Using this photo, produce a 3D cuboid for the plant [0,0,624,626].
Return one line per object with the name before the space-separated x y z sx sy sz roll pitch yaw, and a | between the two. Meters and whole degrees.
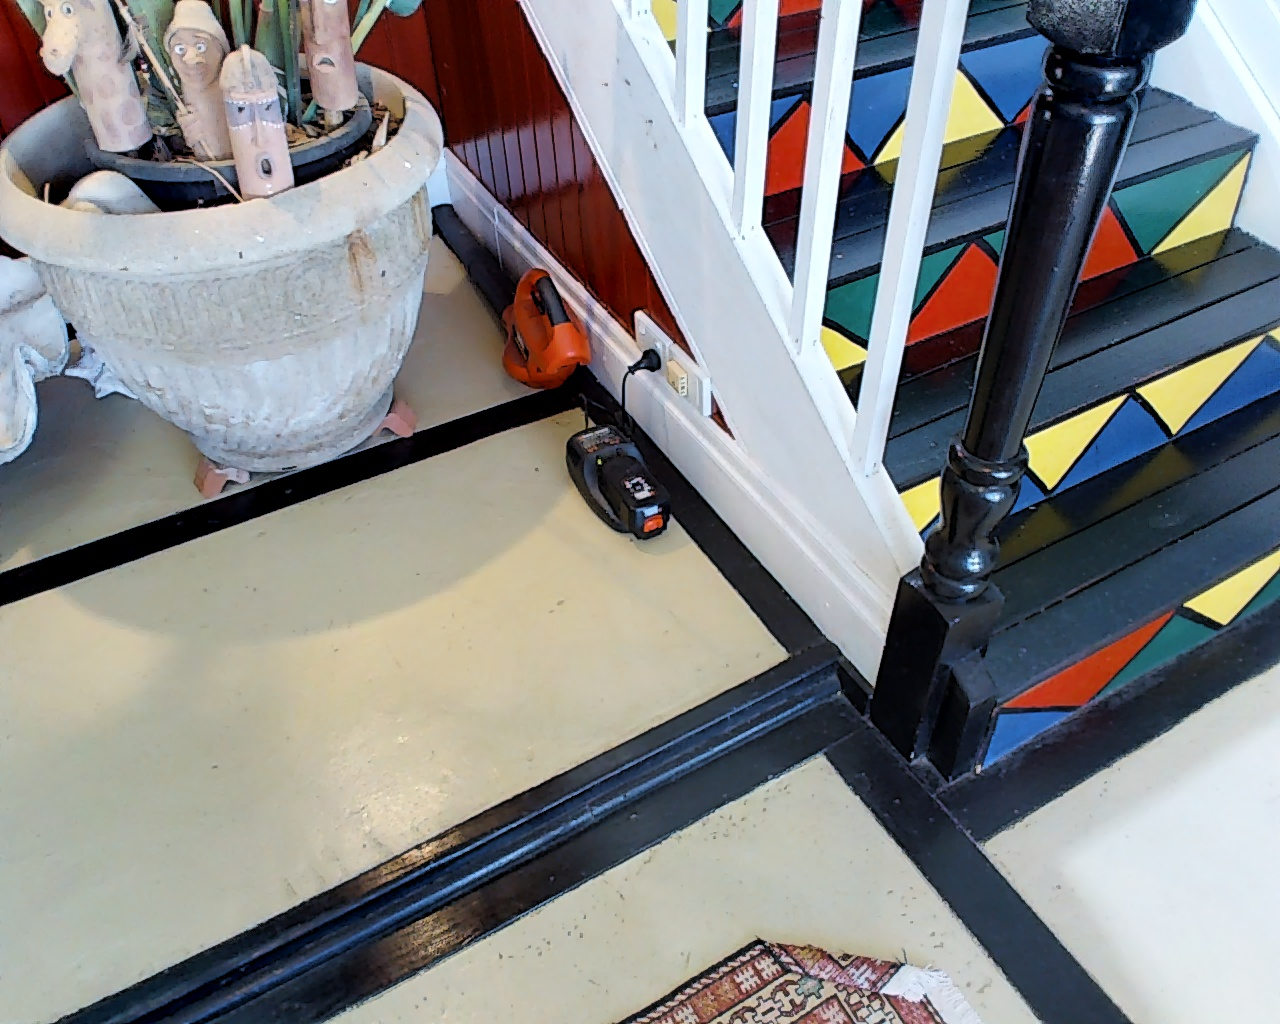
plant | -0.610 -0.750 1.570 0.860 1.470 0.820 -21 47 -21
